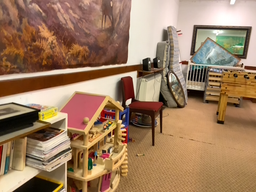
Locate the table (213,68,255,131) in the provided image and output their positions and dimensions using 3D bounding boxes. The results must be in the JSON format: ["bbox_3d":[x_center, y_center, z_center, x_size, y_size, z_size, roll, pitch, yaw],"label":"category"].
[{"bbox_3d":[2.180,0.060,3.480,1.330,0.850,0.820,9,13,21],"label":"table"}]

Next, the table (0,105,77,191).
[{"bbox_3d":[-0.670,0.500,1.050,0.280,0.670,1.010,9,13,19],"label":"table"}]

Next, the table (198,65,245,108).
[{"bbox_3d":[2.140,-0.250,4.930,0.830,0.860,0.370,8,13,16],"label":"table"}]
